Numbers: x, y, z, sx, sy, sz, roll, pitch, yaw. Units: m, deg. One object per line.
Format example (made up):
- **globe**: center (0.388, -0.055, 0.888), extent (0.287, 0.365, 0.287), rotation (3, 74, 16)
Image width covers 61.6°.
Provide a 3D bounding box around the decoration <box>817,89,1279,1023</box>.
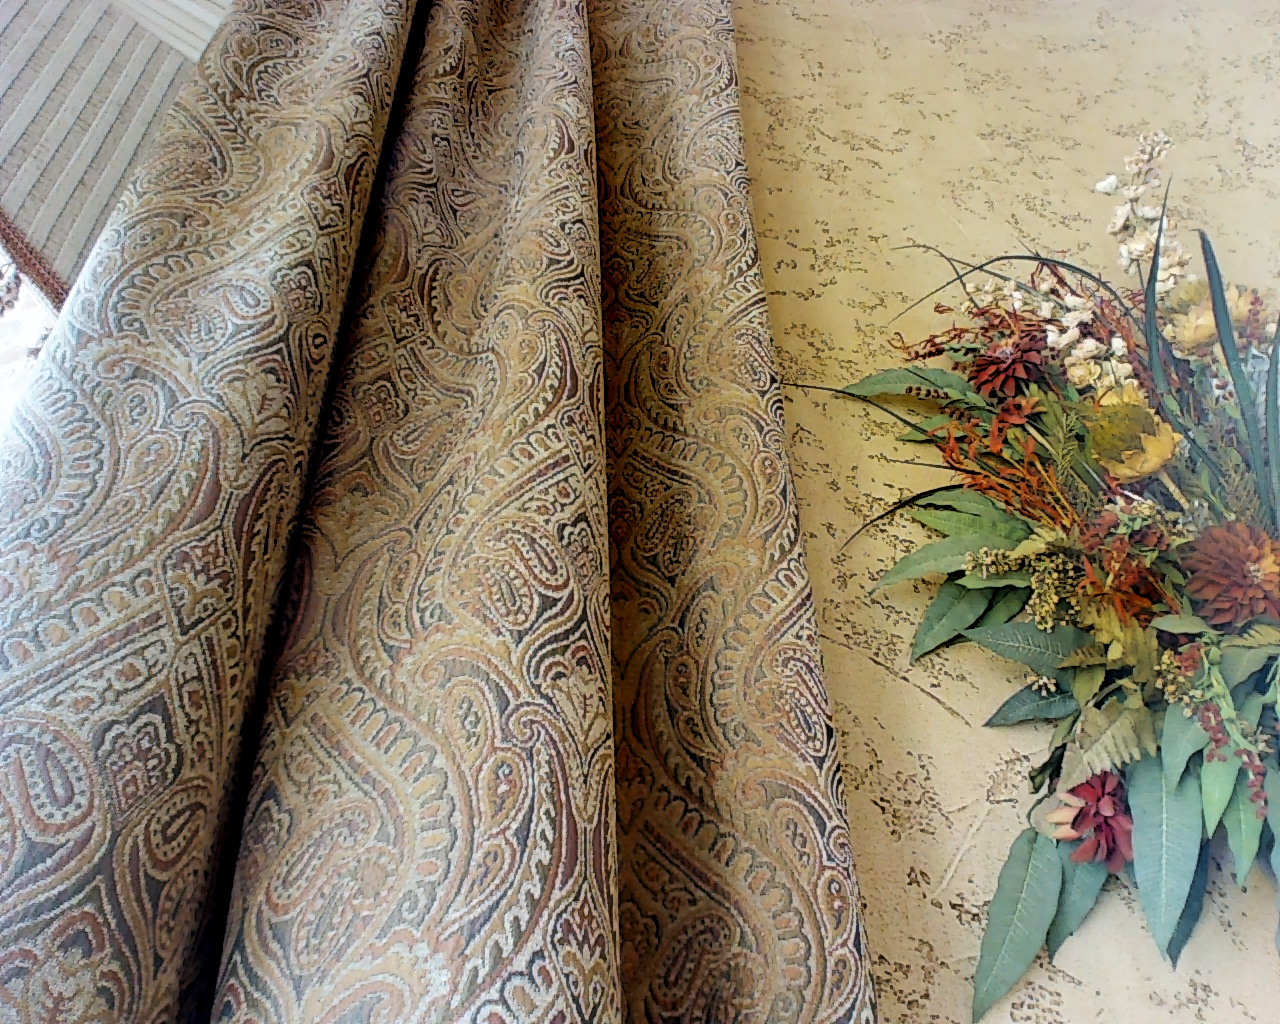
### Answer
- **decoration**: center (0.630, 0.040, 0.950), extent (0.780, 1.110, 0.260), rotation (2, -41, -2)
